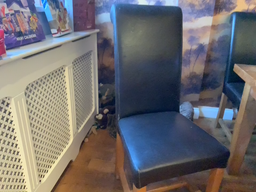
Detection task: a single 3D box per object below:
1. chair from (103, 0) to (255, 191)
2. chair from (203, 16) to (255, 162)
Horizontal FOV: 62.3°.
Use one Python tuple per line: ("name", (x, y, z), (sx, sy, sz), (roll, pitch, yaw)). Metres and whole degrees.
("chair", (0.170, 0.100, 1.180), (0.480, 1.130, 0.630), (-5, 24, -18))
("chair", (1.060, -0.090, 1.820), (0.480, 1.080, 0.660), (5, 23, 5))
